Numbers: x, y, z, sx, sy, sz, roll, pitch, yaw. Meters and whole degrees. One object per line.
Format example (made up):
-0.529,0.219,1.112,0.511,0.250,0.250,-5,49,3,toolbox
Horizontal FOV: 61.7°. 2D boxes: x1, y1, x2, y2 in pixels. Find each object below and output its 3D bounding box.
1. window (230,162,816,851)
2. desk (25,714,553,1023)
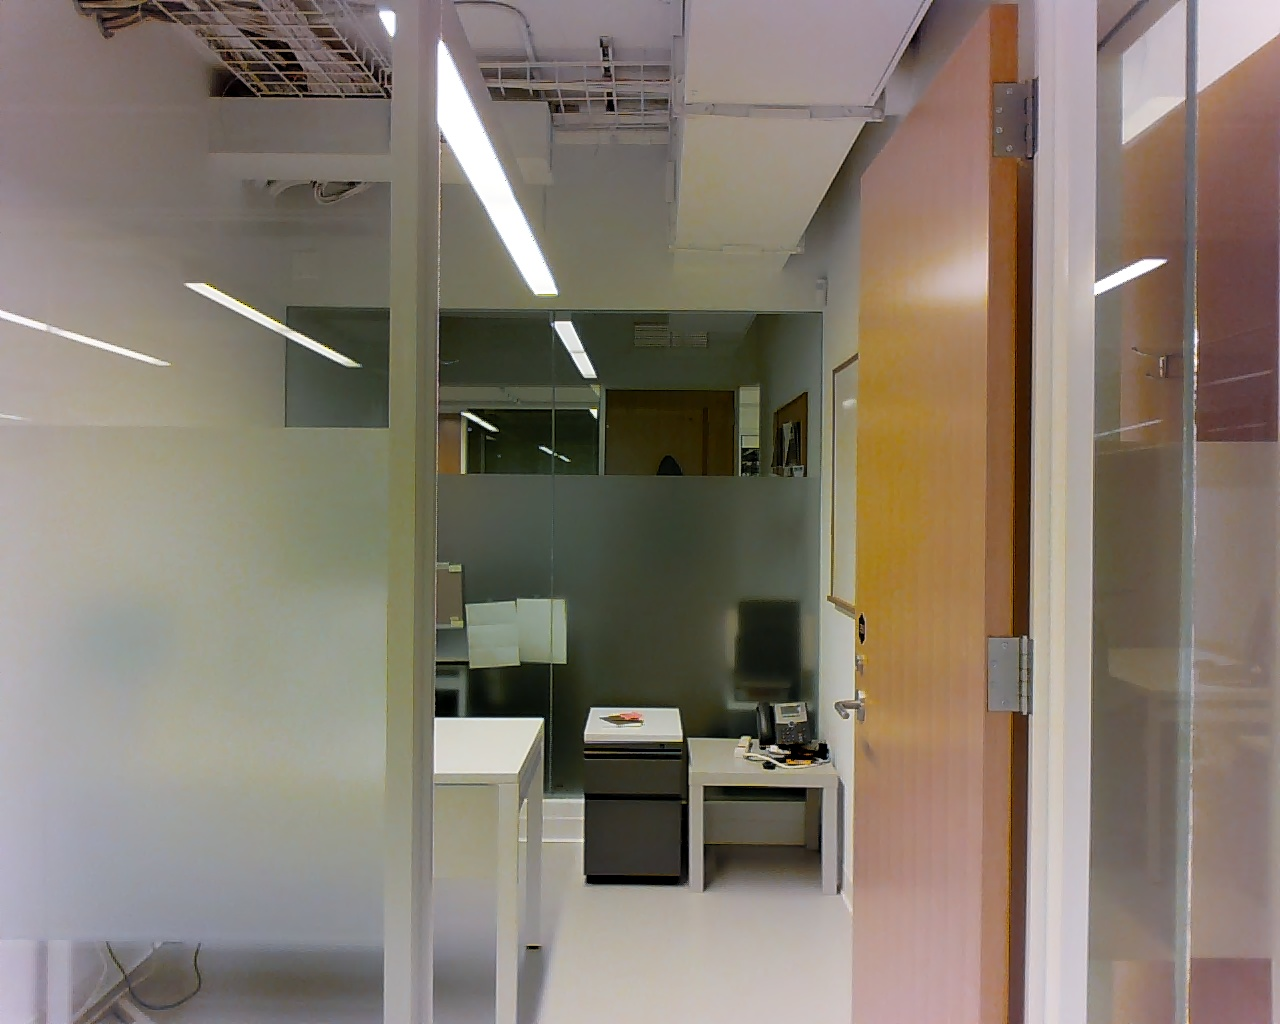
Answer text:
-0.500,-0.020,4.620,2.469,2.911,0.110,1,0,0,window
-0.930,1.060,3.160,1.270,0.750,0.860,1,0,0,desk
